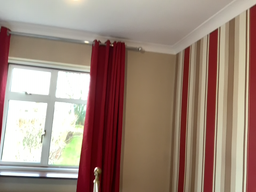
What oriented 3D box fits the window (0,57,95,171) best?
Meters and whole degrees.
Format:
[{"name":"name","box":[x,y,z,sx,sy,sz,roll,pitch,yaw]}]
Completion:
[{"name":"window","box":[-1.160,0.270,2.980,1.240,1.470,0.110,6,-6,-12]}]

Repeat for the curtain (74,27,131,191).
[{"name":"curtain","box":[-0.300,0.170,2.590,0.500,1.930,0.220,6,-6,-15]}]
